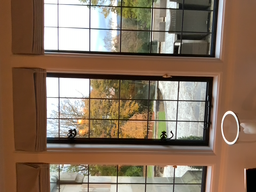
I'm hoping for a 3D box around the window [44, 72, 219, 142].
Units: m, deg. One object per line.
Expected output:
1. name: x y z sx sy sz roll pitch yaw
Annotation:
1. window: 0.040 0.100 1.880 0.080 1.500 0.590 -117 28 -83
